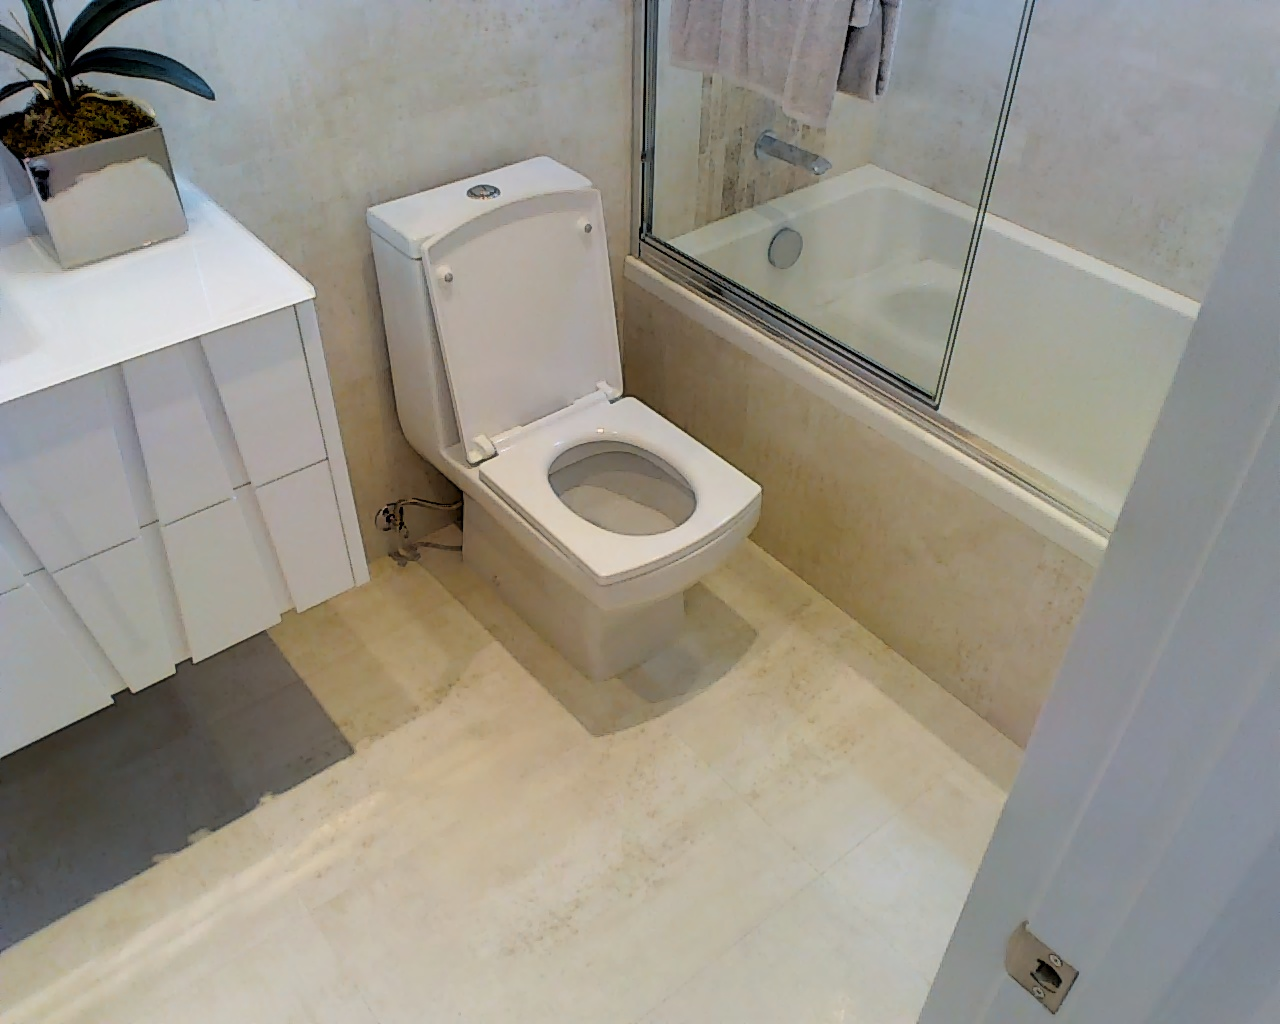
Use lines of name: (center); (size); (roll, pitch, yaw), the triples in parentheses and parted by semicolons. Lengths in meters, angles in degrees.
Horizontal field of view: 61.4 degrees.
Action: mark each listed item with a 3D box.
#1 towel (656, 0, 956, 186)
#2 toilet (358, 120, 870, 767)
towel: (0.240, -0.820, 1.590); (0.190, 0.510, 0.430); (-27, 48, -29)
toilet: (-0.070, -0.140, 1.950); (0.450, 0.830, 0.720); (-27, 48, -29)
